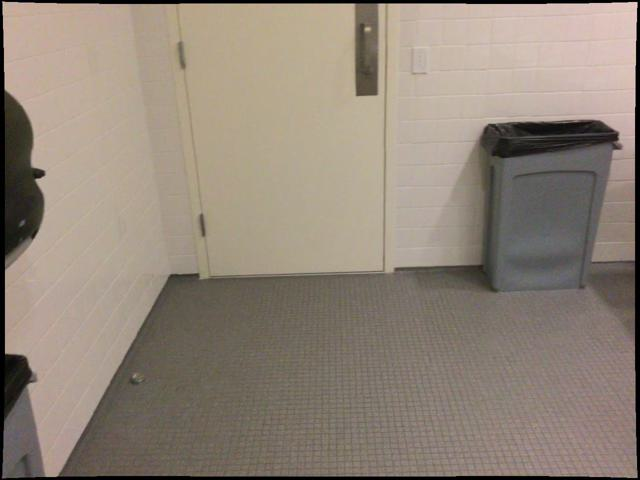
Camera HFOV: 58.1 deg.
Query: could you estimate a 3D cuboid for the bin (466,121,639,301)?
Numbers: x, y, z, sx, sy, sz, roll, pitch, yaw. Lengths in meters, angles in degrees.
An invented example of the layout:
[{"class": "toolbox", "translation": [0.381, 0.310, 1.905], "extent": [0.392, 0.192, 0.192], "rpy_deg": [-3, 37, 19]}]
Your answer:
[{"class": "bin", "translation": [1.057, -0.130, 2.690], "extent": [0.638, 0.772, 0.280], "rpy_deg": [-2, 24, 2]}]
